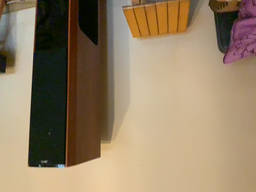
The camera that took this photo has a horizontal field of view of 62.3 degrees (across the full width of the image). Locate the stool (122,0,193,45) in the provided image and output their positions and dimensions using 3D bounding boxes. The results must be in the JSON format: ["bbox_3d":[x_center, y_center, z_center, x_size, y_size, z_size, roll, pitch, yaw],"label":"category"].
[{"bbox_3d":[0.150,-0.560,1.090,0.300,0.460,0.320,-4,170,12],"label":"stool"}]
